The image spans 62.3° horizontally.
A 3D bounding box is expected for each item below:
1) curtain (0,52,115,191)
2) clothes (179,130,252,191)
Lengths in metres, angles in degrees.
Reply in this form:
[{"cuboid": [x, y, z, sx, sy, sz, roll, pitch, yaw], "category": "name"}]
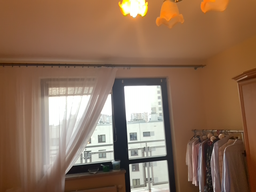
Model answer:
[{"cuboid": [-1.090, 0.590, 2.810, 1.760, 2.340, 0.180, -2, -7, -14], "category": "curtain"}, {"cuboid": [1.130, 0.960, 2.930, 0.310, 0.910, 1.080, -2, -7, -14], "category": "clothes"}]
